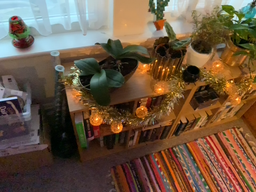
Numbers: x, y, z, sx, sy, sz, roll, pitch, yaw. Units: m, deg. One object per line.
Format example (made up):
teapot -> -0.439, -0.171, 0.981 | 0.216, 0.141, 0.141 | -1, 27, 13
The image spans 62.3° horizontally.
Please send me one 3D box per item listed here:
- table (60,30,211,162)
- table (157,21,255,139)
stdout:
table -> 0.000, 0.030, 1.310 | 0.660, 0.690, 0.370 | -10, 55, -13
table -> 0.590, -0.080, 1.450 | 0.570, 0.680, 0.370 | -10, 55, -13
